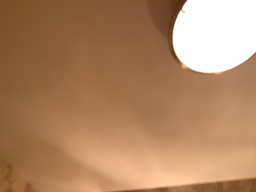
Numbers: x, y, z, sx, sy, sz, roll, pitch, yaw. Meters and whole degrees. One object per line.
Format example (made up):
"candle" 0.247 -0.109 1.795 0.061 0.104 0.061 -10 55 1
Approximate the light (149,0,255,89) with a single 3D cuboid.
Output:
"light" 0.300 -0.210 0.710 0.310 0.370 0.130 -2 -136 38
